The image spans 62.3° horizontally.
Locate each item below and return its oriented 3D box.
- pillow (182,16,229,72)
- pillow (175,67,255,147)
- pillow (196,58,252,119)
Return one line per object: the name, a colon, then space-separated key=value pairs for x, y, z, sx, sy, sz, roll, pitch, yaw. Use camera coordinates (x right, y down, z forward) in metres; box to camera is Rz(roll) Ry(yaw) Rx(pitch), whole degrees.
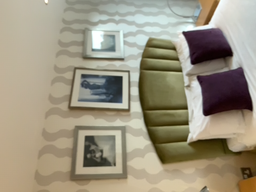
pillow: x=0.750 y=-0.510 z=2.080 sx=0.160 sy=0.380 sz=0.420 roll=-42 pitch=37 yaw=51
pillow: x=0.790 y=0.120 z=2.010 sx=0.300 sy=0.520 sz=0.620 roll=132 pitch=142 yaw=-52
pillow: x=0.800 y=-0.060 z=1.790 sx=0.140 sy=0.390 sz=0.420 roll=-39 pitch=45 yaw=50
